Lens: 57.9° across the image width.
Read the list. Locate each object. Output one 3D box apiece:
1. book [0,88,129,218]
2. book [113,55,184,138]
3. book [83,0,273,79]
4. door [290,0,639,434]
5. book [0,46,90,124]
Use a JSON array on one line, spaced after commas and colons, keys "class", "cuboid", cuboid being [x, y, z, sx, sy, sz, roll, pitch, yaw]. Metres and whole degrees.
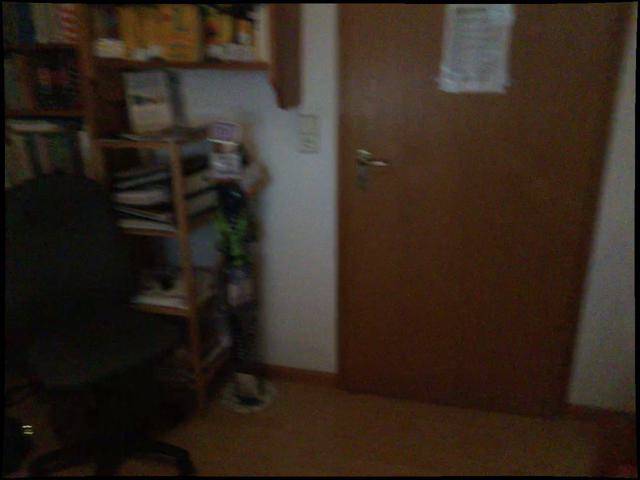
[{"class": "book", "cuboid": [-1.269, -0.390, 2.420, 0.839, 0.420, 0.280, 9, 23, 12]}, {"class": "book", "cuboid": [-0.669, -0.571, 2.280, 0.190, 0.280, 0.180, 9, 23, 12]}, {"class": "book", "cuboid": [-0.499, -0.751, 2.060, 0.629, 0.270, 0.190, 9, 23, 12]}, {"class": "door", "cuboid": [0.509, -0.270, 2.130, 1.169, 2.032, 0.150, 9, 23, 12]}, {"class": "book", "cuboid": [-1.259, -0.621, 2.250, 0.739, 0.250, 0.080, 9, 23, 12]}]
